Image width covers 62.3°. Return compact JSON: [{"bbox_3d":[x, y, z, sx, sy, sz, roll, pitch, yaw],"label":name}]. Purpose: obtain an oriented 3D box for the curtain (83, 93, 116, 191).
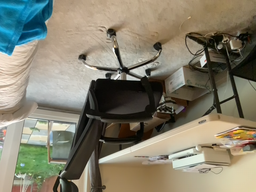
[{"bbox_3d":[-0.320,0.980,2.370,0.320,2.110,0.170,12,152,-27],"label":"curtain"}]
